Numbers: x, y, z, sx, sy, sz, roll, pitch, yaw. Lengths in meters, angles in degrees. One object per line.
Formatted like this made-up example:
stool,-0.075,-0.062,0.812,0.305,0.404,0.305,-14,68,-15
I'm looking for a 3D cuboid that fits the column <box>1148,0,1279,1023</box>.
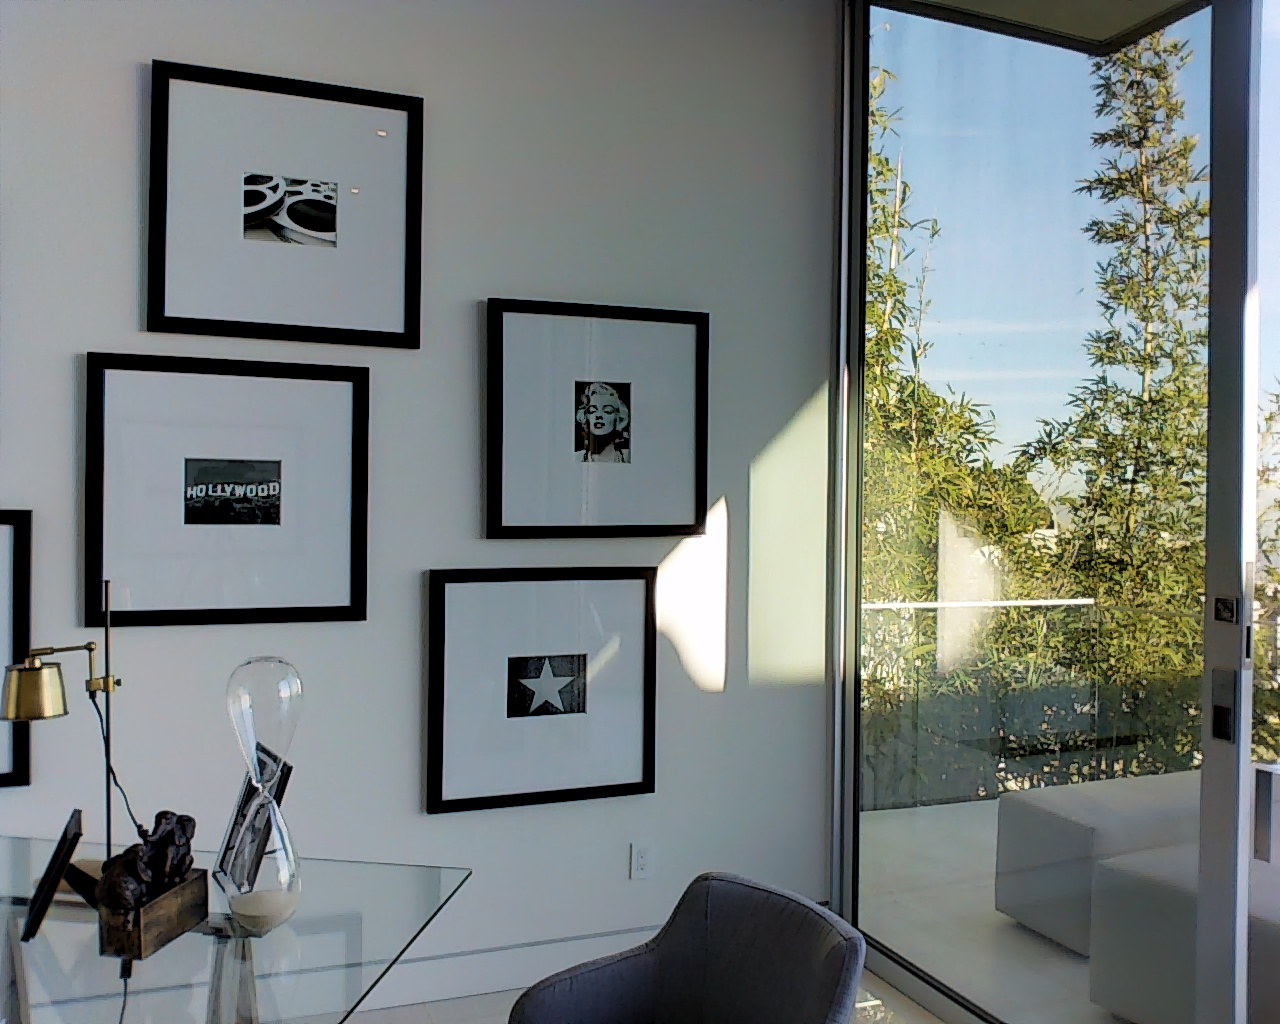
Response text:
column,1.310,-0.130,2.410,0.210,3.420,0.200,0,1,-44
